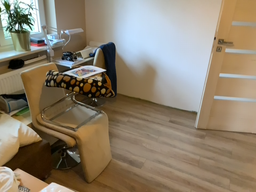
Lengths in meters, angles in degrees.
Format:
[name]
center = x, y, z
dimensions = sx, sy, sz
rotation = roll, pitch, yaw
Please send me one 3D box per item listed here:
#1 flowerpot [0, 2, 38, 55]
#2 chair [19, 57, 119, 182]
[flowerpot]
center = -1.240, -0.760, 2.370
dimensions = 0.290, 0.520, 0.240
rotation = 17, 29, 26
[chair]
center = -0.510, 0.190, 2.000
dimensions = 0.670, 0.910, 0.480
rotation = 14, 28, 21
